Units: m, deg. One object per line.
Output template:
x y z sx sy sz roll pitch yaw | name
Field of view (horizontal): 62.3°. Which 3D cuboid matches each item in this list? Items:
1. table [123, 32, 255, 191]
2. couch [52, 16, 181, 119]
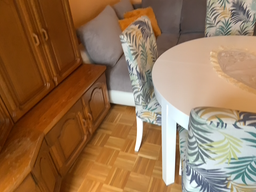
0.710 0.150 1.470 1.090 0.770 1.130 9 37 19 | table
-0.060 -0.360 2.270 1.080 0.780 0.660 9 37 19 | couch
